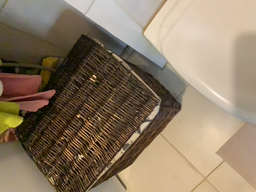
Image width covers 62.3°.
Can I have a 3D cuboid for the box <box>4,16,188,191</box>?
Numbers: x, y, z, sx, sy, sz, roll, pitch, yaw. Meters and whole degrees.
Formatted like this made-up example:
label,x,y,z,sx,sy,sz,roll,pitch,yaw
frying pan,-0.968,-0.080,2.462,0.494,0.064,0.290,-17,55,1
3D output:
label,x,y,z,sx,sy,sz,roll,pitch,yaw
box,-0.120,0.060,0.950,0.530,0.420,0.460,46,104,19
